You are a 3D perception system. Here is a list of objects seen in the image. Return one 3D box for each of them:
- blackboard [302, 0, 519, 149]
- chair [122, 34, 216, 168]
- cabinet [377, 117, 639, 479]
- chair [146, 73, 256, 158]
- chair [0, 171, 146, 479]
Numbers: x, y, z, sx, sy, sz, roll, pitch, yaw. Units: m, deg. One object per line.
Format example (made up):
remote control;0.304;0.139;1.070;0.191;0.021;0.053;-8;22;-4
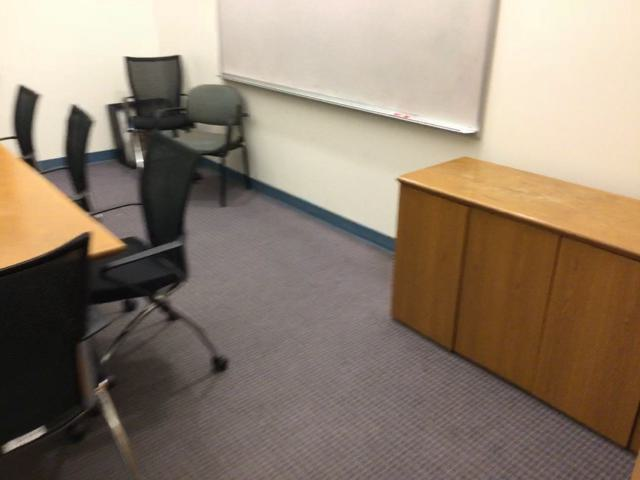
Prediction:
blackboard;0.380;-0.960;3.070;0.140;0.620;1.290;-17;33;-38
chair;-1.190;-1.120;4.640;0.610;0.900;0.580;-6;28;-14
cabinet;1.010;0.200;2.200;0.560;0.910;1.610;-14;31;-34
chair;-0.840;-0.900;4.110;0.590;0.440;0.490;-14;31;-34
chair;-0.860;0.260;1.530;0.590;0.680;0.510;-14;31;-34
